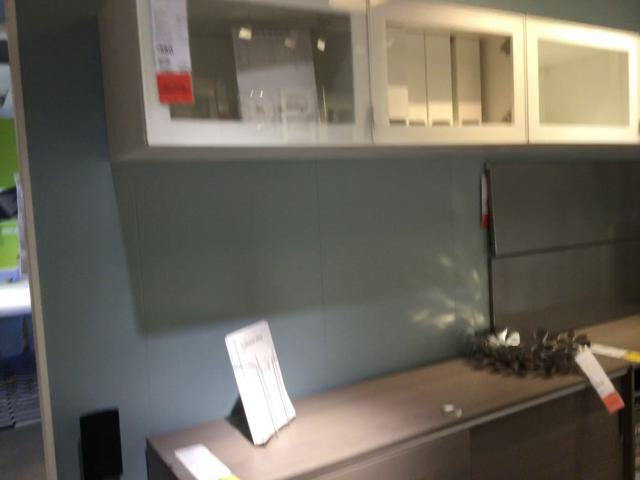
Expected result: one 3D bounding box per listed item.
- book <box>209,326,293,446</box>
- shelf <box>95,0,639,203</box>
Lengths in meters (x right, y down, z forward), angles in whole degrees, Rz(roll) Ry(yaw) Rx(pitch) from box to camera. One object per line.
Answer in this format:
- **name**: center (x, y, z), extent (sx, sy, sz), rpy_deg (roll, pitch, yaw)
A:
- **book**: center (-0.190, 0.400, 1.630), extent (0.110, 0.290, 0.210), rpy_deg (-15, -12, 15)
- **shelf**: center (0.800, -0.510, 2.050), extent (2.910, 0.490, 0.480), rpy_deg (-7, 2, -27)
